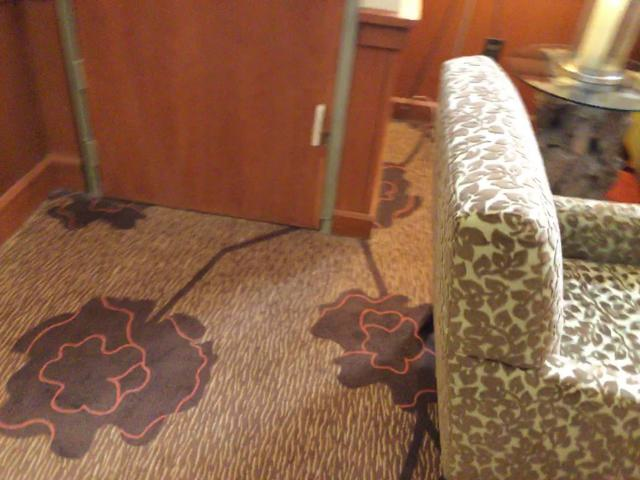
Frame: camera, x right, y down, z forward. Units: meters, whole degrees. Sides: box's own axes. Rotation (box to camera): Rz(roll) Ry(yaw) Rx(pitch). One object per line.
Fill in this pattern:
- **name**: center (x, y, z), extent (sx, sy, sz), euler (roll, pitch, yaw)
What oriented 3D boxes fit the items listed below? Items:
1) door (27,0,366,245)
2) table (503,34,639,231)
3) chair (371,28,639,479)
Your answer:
- **door**: center (-0.390, -0.530, 2.020), extent (1.040, 1.050, 0.240), euler (8, 41, 9)
- **table**: center (1.070, -0.460, 2.440), extent (0.440, 0.590, 0.530), euler (8, 41, 9)
- **chair**: center (0.650, 0.140, 1.410), extent (0.900, 0.960, 0.790), euler (8, 41, 9)
